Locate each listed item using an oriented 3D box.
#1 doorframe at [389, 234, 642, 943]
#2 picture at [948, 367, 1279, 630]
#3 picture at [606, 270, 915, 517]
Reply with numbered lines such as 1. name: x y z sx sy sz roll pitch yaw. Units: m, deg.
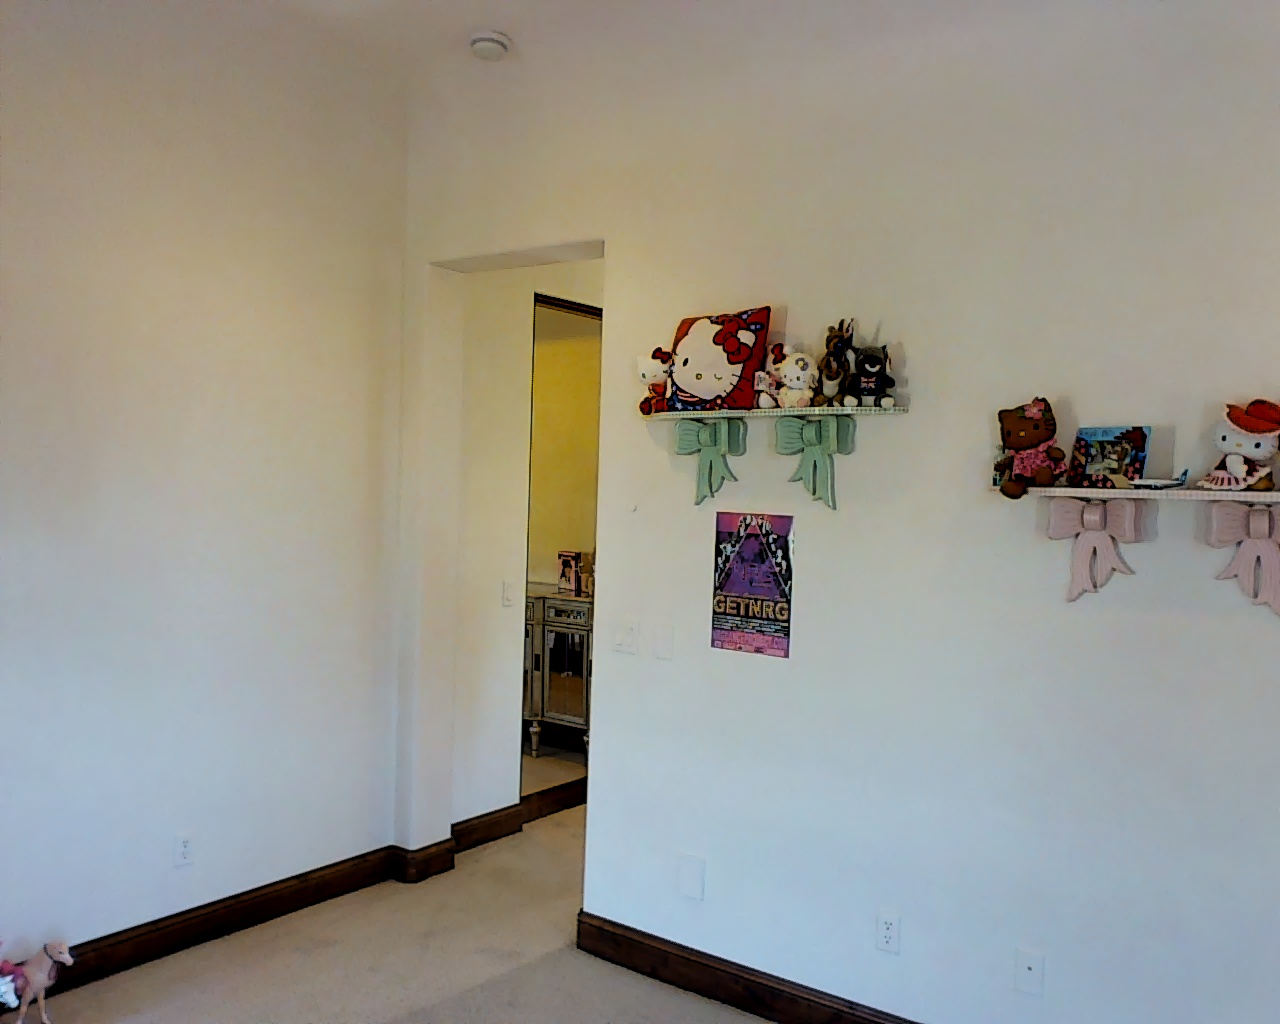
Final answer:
1. doorframe: -0.490 0.250 4.000 0.960 2.400 0.250 3 2 36
2. picture: 1.240 -0.040 2.540 0.960 0.570 0.170 3 2 36
3. picture: 0.330 -0.330 3.170 0.900 0.650 0.210 3 2 36
